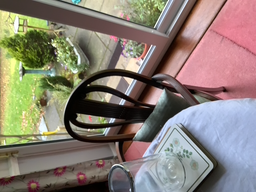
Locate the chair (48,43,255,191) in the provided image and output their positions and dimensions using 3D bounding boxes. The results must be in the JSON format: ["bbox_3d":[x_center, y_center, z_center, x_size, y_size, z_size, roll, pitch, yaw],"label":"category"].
[{"bbox_3d":[0.260,0.200,1.030,0.540,1.020,0.540,50,125,39],"label":"chair"}]
